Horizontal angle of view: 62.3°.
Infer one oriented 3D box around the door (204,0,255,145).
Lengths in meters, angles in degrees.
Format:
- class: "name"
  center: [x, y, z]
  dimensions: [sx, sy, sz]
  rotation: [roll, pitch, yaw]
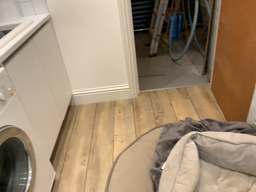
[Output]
- class: "door"
  center: [0.700, -0.690, 1.290]
  dimensions: [0.090, 1.970, 0.810]
  rotation: [-2, 35, 7]
